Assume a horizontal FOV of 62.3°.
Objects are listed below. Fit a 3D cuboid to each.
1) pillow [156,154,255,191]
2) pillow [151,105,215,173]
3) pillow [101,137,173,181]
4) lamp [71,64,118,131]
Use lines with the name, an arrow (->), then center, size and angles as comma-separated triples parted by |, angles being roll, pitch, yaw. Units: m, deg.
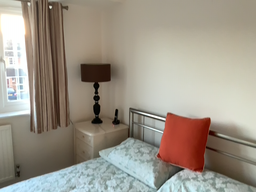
pillow -> 0.580, 0.630, 1.390 | 0.450, 0.170, 0.660 | -7, 12, -38
pillow -> 0.440, 0.330, 1.710 | 0.180, 0.420, 0.400 | -34, 28, -34
pillow -> 0.060, 0.530, 1.900 | 0.340, 0.100, 0.580 | -7, 12, -38
lamp -> -0.410, -0.020, 2.590 | 0.400, 0.730, 0.430 | -7, 12, -38
